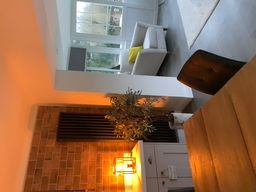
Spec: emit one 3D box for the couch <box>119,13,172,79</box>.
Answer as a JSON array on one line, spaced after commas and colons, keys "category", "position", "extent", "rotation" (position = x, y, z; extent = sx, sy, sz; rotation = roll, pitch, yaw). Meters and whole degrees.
[{"category": "couch", "position": [0.310, -1.070, 4.730], "extent": [0.960, 0.890, 0.970], "rotation": [110, 159, -60]}]
